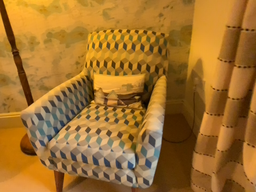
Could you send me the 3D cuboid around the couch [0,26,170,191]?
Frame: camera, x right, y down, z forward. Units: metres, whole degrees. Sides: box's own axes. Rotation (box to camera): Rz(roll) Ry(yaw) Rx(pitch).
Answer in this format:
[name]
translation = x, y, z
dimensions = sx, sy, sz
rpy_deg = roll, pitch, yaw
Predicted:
[couch]
translation = -0.120, 0.060, 1.410
dimensions = 0.720, 0.850, 0.860
rpy_deg = 4, 30, 11
